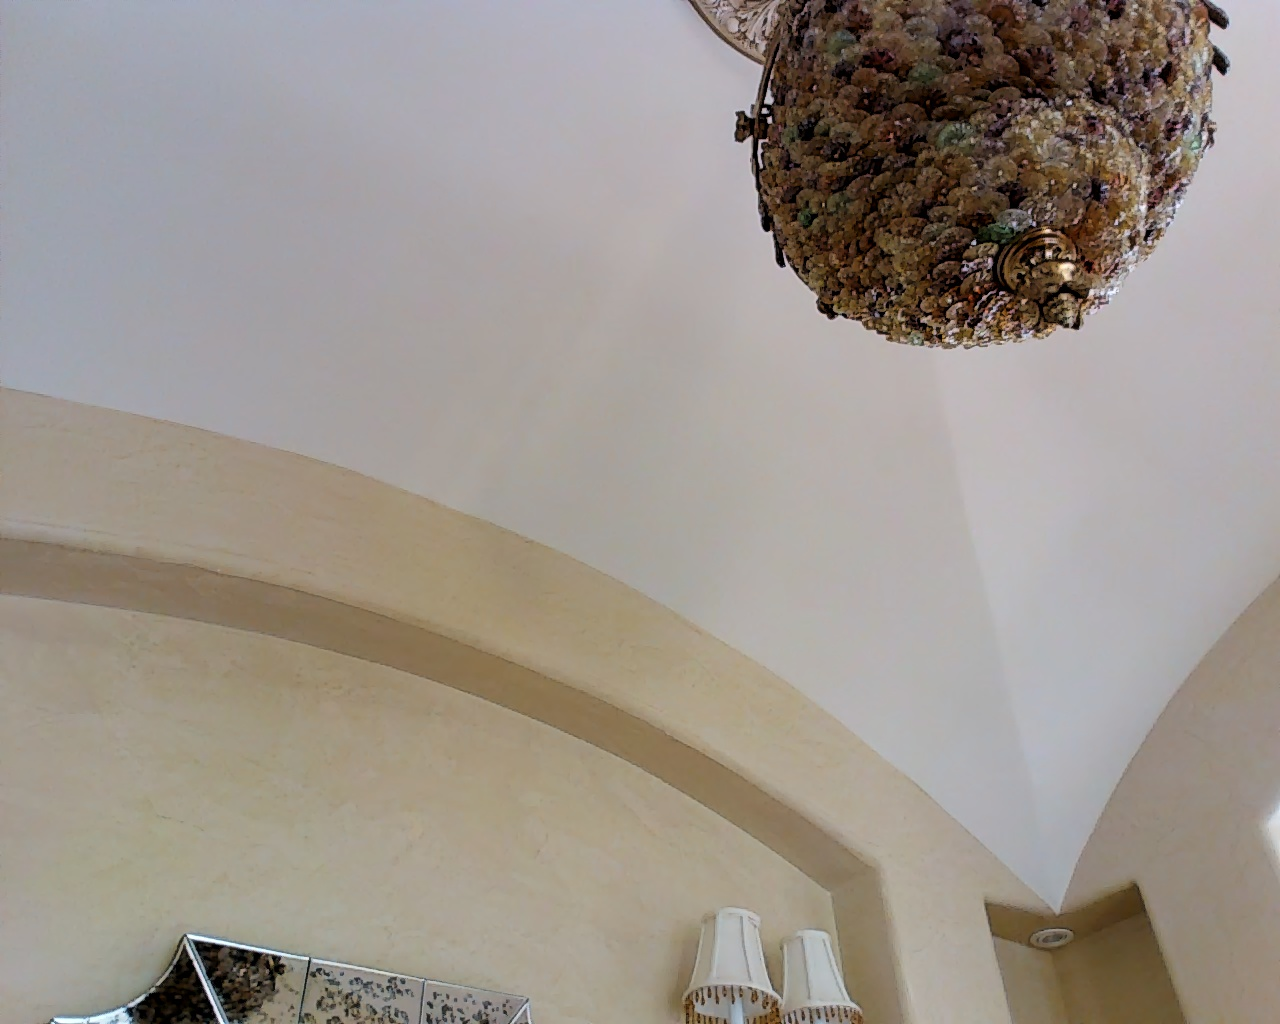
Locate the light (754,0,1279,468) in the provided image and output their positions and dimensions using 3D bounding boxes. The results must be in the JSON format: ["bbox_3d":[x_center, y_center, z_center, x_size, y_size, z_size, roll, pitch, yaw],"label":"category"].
[{"bbox_3d":[0.290,-0.290,0.880,0.340,0.320,0.330,-9,-42,8],"label":"light"}]
